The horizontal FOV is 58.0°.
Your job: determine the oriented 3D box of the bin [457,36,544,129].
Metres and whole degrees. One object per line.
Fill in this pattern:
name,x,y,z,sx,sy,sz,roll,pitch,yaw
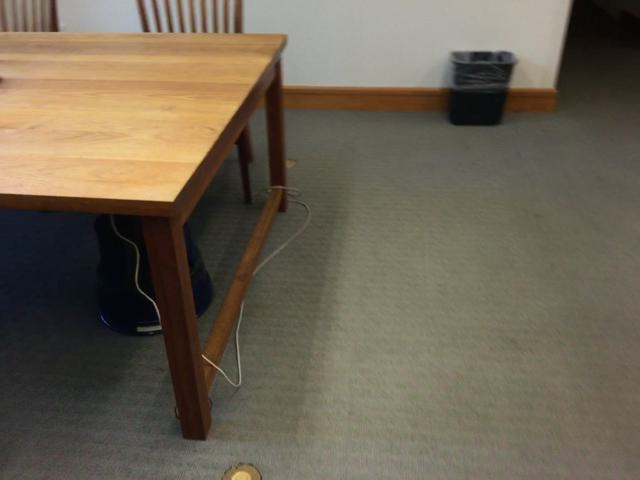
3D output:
bin,1.010,-0.890,3.270,0.430,0.400,0.290,-4,30,13

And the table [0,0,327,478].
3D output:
table,-1.020,-0.170,1.970,1.760,1.050,1.430,-4,30,12

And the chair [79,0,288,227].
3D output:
chair,-0.530,-0.670,2.590,0.570,0.990,0.590,-8,29,5
